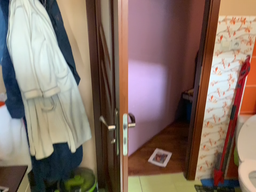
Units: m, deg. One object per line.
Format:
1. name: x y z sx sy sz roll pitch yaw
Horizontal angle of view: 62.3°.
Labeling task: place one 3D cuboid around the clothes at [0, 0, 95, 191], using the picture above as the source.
1. clothes: -0.650 0.090 1.480 0.740 1.740 0.440 -2 22 -7

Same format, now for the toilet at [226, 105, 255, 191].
1. toilet: 1.080 0.600 1.720 0.360 0.820 0.660 8 23 18

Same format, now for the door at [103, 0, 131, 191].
1. door: -0.080 0.050 1.340 0.100 2.130 0.770 -2 22 -5
